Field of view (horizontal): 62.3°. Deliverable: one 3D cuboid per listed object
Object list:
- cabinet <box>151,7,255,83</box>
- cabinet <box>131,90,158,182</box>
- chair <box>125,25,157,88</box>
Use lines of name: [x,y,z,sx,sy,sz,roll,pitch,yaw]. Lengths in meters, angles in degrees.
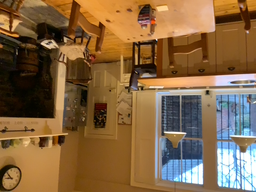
cabinet: [1.300,-0.740,3.370,1.780,0.920,0.490,-1,174,24]
cabinet: [0.430,0.960,5.380,0.560,2.220,0.270,-1,173,22]
chair: [0.250,-0.680,3.830,0.470,1.030,0.400,0,174,20]
